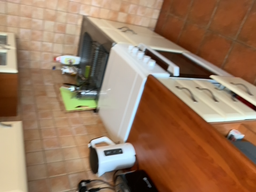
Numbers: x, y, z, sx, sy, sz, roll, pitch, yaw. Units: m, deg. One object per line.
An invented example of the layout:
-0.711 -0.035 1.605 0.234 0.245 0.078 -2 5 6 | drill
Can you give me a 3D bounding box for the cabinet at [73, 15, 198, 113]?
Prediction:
0.010 -0.330 2.120 0.800 0.850 0.600 50 132 47 | cabinet
